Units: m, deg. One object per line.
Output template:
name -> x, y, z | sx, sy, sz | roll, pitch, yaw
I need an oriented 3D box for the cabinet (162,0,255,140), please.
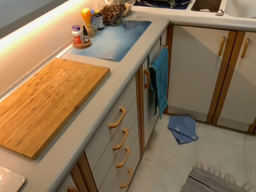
cabinet -> 0.770, -0.250, 1.580 | 0.840, 0.840, 0.610 | 14, 44, 20
